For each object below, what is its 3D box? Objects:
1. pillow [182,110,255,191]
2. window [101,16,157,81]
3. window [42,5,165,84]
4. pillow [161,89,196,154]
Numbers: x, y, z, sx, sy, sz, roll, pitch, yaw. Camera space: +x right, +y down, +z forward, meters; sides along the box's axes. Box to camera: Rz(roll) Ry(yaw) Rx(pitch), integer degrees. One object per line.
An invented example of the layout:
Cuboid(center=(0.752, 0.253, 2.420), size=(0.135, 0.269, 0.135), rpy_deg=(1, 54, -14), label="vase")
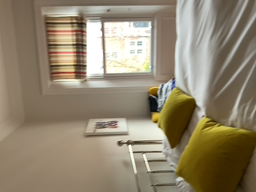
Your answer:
Cuboid(center=(0.490, 0.380, 1.220), size=(0.460, 0.190, 0.510), rpy_deg=(-123, 32, -80), label="pillow")
Cuboid(center=(0.010, -0.820, 3.770), size=(0.300, 0.950, 1.080), rpy_deg=(-121, 30, -80), label="window")
Cuboid(center=(-0.370, -0.840, 3.580), size=(0.160, 1.960, 1.240), rpy_deg=(-121, 30, -80), label="window")
Cuboid(center=(0.450, 0.210, 1.960), size=(0.400, 0.180, 0.510), rpy_deg=(-123, 32, -80), label="pillow")
